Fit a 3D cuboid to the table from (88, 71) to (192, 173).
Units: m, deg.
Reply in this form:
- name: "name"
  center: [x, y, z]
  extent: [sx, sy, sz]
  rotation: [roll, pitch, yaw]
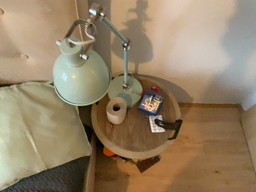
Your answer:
- name: "table"
  center: [0.030, 0.170, 1.220]
  extent: [0.460, 0.420, 0.450]
  rotation: [1, 62, -6]
